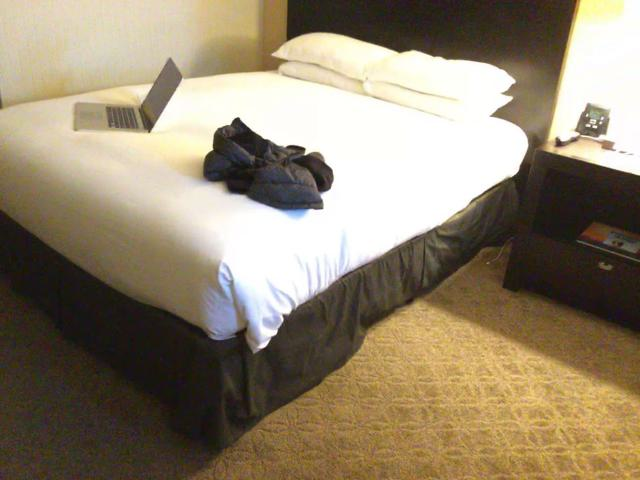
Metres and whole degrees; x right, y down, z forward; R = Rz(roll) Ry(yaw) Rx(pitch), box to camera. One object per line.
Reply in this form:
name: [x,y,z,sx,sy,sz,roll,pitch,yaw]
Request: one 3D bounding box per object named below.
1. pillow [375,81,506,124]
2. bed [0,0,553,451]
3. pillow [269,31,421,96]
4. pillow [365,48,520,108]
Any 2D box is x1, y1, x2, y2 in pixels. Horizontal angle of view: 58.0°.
pillow: [0.570,-0.660,2.740,0.490,0.110,0.360,17,26,34]
bed: [-0.210,-0.430,2.450,1.580,1.070,2.110,12,24,36]
pillow: [0.120,-0.950,3.050,0.670,0.260,0.420,17,26,34]
pillow: [0.570,-0.780,2.730,0.600,0.200,0.370,17,26,34]
